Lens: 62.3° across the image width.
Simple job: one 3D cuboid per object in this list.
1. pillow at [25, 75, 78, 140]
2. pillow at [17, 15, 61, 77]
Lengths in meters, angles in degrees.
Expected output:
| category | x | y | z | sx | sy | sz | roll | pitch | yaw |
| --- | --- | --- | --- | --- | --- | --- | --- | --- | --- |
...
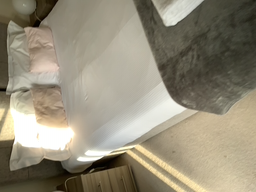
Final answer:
| category | x | y | z | sx | sy | sz | roll | pitch | yaw |
| --- | --- | --- | --- | --- | --- | --- | --- | --- | --- |
| pillow | -0.640 | 0.090 | 1.760 | 0.130 | 0.290 | 0.520 | -43 | 58 | 35 |
| pillow | -0.820 | -0.470 | 1.990 | 0.150 | 0.260 | 0.530 | -35 | 45 | 39 |
